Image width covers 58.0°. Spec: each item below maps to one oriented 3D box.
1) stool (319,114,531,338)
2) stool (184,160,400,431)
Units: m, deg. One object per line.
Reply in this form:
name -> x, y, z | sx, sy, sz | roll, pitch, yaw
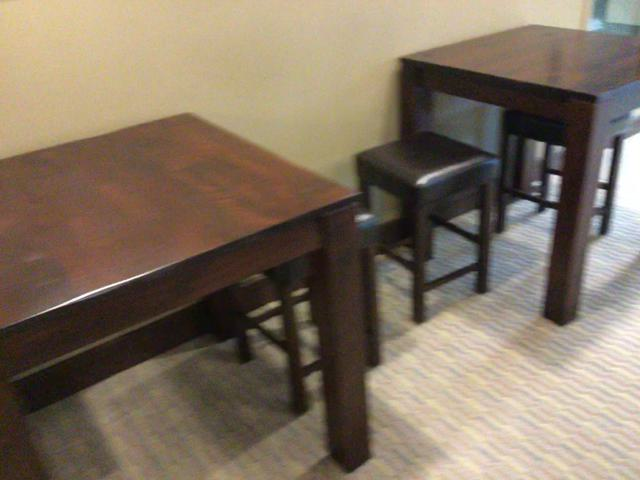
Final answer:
stool -> 0.430, -0.100, 2.440 | 0.560, 0.640, 0.610 | -23, 32, -28
stool -> -0.090, 0.160, 2.060 | 0.460, 0.670, 0.560 | -23, 32, -28
